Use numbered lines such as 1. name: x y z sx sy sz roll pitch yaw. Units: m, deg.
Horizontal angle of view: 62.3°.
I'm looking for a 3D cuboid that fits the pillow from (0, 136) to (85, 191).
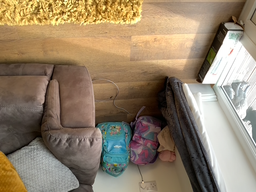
1. pillow: -0.530 0.510 1.220 0.400 0.360 0.170 -46 154 -28
